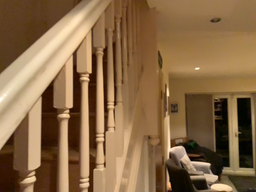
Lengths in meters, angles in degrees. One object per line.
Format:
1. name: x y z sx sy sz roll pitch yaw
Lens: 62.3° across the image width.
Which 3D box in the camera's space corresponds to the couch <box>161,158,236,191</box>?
1. couch: 0.950 1.420 3.000 0.750 0.850 0.750 0 -3 -9
